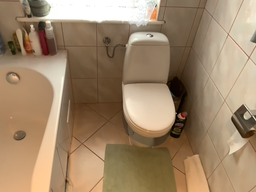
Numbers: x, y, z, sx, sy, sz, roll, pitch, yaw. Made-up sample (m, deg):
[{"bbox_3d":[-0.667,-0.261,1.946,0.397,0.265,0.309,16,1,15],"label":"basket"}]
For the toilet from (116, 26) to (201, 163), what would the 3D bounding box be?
[{"bbox_3d":[0.130,0.000,1.540,0.360,0.740,0.640,0,45,-8],"label":"toilet"}]
